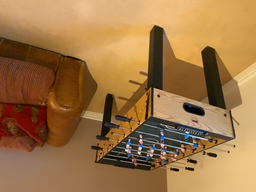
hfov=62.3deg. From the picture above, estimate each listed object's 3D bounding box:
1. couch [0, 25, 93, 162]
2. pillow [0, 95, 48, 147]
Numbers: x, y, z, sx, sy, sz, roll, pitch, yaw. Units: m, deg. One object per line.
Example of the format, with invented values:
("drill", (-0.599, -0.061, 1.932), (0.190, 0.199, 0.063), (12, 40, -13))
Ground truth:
("couch", (-1.240, 0.020, 2.010), (1.480, 0.750, 1.150), (14, 148, -17))
("pillow", (-1.080, 0.240, 2.040), (0.500, 0.370, 0.220), (-11, 160, -29))
